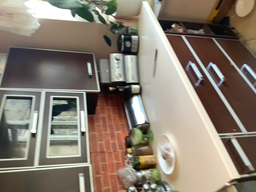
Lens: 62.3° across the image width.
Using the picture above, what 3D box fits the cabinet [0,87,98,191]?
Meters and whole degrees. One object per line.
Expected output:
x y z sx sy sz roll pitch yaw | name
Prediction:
-0.560 0.380 1.370 0.330 0.630 0.900 108 156 -45 | cabinet

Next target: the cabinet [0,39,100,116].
-0.660 -0.170 1.860 0.320 0.730 0.590 108 156 -45 | cabinet
